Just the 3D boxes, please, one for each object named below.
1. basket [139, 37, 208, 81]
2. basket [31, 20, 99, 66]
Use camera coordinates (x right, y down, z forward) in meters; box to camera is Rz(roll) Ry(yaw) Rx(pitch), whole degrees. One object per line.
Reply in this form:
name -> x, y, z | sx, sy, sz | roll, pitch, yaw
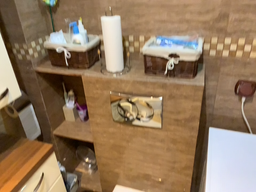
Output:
basket -> 0.200, -0.170, 0.930 | 0.260, 0.120, 0.170 | 9, 32, 20
basket -> -0.310, -0.280, 1.090 | 0.250, 0.180, 0.180 | 7, 31, 17
